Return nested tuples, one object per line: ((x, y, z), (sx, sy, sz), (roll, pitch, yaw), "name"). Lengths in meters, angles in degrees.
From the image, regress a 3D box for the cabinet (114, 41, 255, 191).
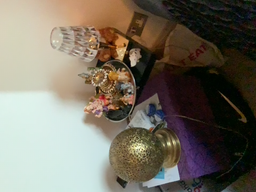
((0.300, 0.120, 1.000), (0.440, 0.450, 0.530), (-27, 73, 45), "cabinet")
